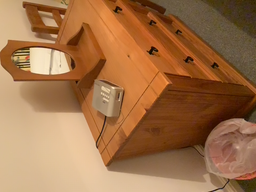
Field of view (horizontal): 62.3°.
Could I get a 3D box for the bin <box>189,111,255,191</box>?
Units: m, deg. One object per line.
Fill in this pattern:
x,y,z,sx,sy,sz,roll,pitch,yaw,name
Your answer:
0.580,0.290,1.100,0.350,0.280,0.250,-56,49,30,bin
